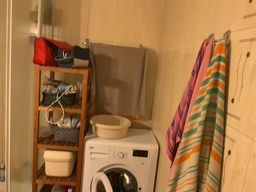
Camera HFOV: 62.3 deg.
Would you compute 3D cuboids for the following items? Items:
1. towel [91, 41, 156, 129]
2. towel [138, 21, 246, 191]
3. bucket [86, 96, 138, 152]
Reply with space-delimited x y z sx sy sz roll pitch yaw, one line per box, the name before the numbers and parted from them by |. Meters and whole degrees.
towel | -0.050 -0.100 2.010 0.520 0.760 0.150 6 10 -2
towel | 0.220 0.310 1.040 0.220 1.210 0.440 6 10 -3
bucket | -0.140 0.230 1.910 0.380 0.360 0.420 6 10 -4
